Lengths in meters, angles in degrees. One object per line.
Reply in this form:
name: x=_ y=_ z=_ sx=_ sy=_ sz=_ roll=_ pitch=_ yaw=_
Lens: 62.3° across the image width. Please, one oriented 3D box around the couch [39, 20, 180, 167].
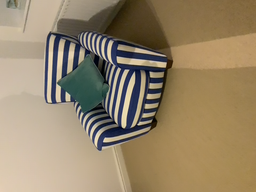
couch: x=-0.260 y=-0.110 z=1.960 sx=0.920 sy=0.840 sz=0.920 roll=34 pitch=121 yaw=47
